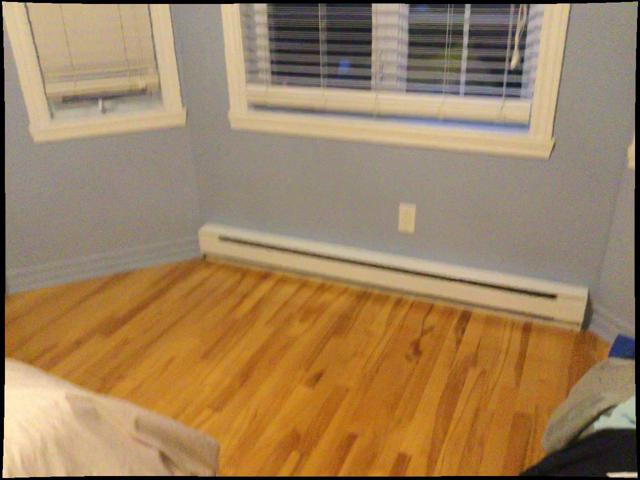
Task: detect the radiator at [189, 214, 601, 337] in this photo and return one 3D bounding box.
[{"bbox_3d":[0.200,0.110,2.400,1.729,0.180,0.110,9,29,24],"label":"radiator"}]

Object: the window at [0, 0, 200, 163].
[{"bbox_3d":[-0.949,-1.101,2.180,0.580,1.471,0.520,9,29,24],"label":"window"}]

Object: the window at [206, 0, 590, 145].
[{"bbox_3d":[0.210,-1.061,2.000,1.379,1.331,0.230,9,29,24],"label":"window"}]
